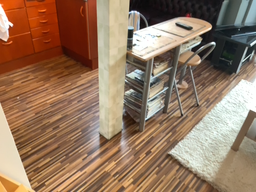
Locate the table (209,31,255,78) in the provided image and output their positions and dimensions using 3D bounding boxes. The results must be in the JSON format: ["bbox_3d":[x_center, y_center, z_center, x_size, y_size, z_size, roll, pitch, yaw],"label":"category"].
[{"bbox_3d":[1.680,-0.670,3.350,0.430,0.470,0.600,31,43,31],"label":"table"}]

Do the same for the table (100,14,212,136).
[{"bbox_3d":[0.300,-0.280,2.150,0.390,0.800,1.180,31,43,31],"label":"table"}]

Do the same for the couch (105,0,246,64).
[{"bbox_3d":[0.700,-1.460,3.850,2.210,0.770,0.960,31,43,31],"label":"couch"}]
